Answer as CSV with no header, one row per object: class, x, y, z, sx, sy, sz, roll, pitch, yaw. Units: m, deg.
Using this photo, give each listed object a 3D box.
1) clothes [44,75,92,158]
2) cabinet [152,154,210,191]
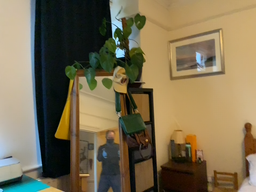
clothes,-0.560,0.190,2.040,0.180,0.730,0.270,-4,12,26
cabinet,0.680,1.100,2.660,0.490,0.540,0.590,-4,-2,38
